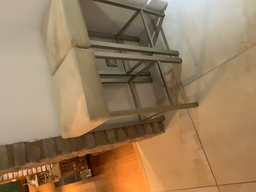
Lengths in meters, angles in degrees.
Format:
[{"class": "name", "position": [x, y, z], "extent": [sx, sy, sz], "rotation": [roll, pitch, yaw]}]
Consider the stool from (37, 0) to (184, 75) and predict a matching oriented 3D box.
[{"class": "stool", "position": [-0.090, -0.370, 1.280], "extent": [0.360, 0.740, 0.370], "rotation": [-32, 69, 49]}]
